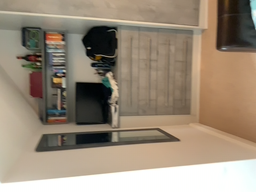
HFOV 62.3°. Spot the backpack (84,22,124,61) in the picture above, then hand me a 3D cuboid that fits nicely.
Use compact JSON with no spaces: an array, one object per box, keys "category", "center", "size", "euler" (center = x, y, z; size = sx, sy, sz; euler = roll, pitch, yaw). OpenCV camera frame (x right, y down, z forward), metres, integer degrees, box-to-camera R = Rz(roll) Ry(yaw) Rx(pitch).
[{"category":"backpack","center":[-0.270,-0.550,2.230],"size":[0.380,0.370,0.310],"euler":[-164,74,-75]}]
